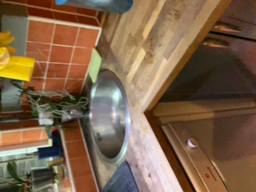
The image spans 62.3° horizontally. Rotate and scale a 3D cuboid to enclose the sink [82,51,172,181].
[{"bbox_3d":[-0.040,0.080,1.120,0.530,0.220,0.510,-1,90,59],"label":"sink"}]
